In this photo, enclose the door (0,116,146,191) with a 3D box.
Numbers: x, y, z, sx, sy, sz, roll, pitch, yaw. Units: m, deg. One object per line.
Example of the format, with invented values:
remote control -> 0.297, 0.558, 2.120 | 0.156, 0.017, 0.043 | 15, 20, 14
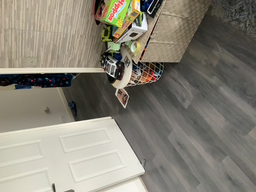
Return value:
door -> -0.850, 0.670, 2.050 | 0.900, 2.000, 0.080 | 54, 136, 37
